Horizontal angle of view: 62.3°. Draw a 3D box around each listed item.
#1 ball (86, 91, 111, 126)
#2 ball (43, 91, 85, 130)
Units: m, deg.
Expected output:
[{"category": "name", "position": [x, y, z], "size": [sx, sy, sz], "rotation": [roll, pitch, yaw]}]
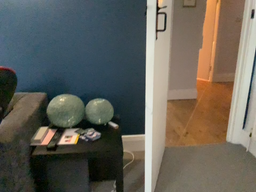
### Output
[{"category": "ball", "position": [-0.220, 0.090, 1.640], "size": [0.170, 0.190, 0.240], "rotation": [-3, 18, -5]}, {"category": "ball", "position": [-0.460, 0.100, 1.580], "size": [0.240, 0.210, 0.230], "rotation": [-2, 18, -4]}]
